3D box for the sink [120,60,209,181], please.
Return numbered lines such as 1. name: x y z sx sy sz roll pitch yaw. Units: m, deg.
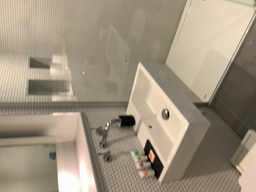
1. sink: 0.160 0.110 1.300 0.620 0.150 0.420 -120 38 -49
